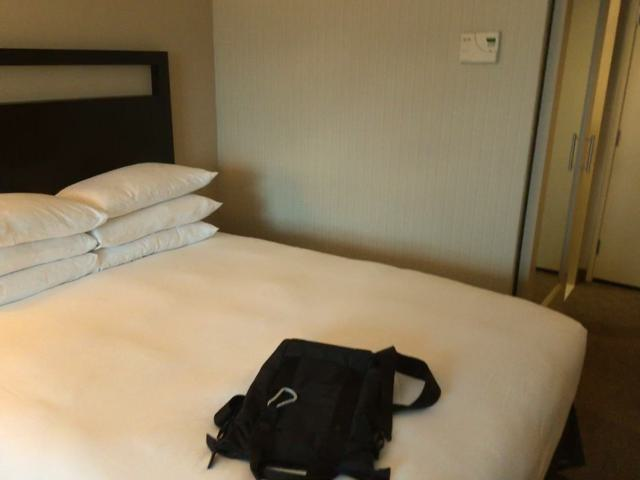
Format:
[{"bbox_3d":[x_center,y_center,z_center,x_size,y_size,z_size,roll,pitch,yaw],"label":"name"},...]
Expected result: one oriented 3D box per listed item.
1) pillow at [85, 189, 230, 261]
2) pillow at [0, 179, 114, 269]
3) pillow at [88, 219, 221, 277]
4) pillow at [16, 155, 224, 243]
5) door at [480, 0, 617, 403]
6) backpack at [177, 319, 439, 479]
[{"bbox_3d":[-0.640,-0.080,2.380,0.140,0.140,0.640,9,19,31],"label":"pillow"},{"bbox_3d":[-1.090,-0.060,1.990,0.420,0.180,0.560,9,19,31],"label":"pillow"},{"bbox_3d":[-0.650,0.020,2.360,0.100,0.070,0.610,9,19,31],"label":"pillow"},{"bbox_3d":[-0.800,-0.200,2.420,0.410,0.200,0.710,9,19,31],"label":"pillow"},{"bbox_3d":[1.090,-0.370,2.700,0.270,1.930,1.020,9,19,31],"label":"door"},{"bbox_3d":[0.000,0.350,1.280,0.360,0.110,0.500,9,19,31],"label":"backpack"}]
